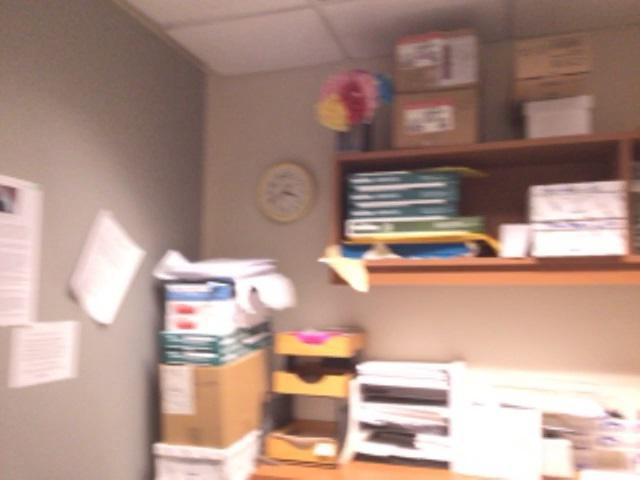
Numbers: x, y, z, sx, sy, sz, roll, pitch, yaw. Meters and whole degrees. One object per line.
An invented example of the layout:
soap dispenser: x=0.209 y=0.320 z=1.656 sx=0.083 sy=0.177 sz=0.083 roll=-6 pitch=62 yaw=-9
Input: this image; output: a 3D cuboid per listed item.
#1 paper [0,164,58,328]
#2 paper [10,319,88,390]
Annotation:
paper: x=-0.760 y=0.020 z=1.430 sx=0.030 sy=0.390 sz=0.240 roll=-2 pitch=-7 yaw=18
paper: x=-0.720 y=0.300 z=1.550 sx=0.030 sy=0.170 sz=0.230 roll=-2 pitch=-7 yaw=18
